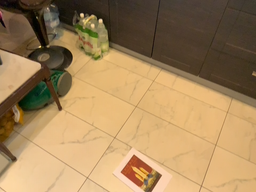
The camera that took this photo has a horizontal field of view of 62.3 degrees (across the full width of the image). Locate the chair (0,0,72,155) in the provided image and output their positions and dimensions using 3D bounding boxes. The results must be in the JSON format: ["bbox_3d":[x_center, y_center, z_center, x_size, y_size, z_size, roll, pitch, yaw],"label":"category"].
[{"bbox_3d":[-0.790,-0.180,1.200,0.610,0.900,0.460,27,57,17],"label":"chair"}]
